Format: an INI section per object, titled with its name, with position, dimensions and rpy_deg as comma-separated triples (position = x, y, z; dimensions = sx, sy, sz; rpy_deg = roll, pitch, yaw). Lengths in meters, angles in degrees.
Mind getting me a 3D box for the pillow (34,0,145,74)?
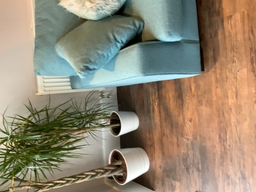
[pillow]
position = -0.180, -0.360, 1.290
dimensions = 0.480, 0.500, 0.240
rpy_deg = 27, 96, 6
